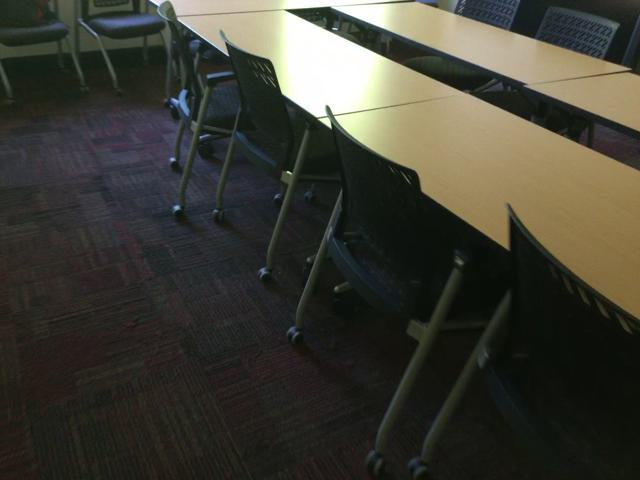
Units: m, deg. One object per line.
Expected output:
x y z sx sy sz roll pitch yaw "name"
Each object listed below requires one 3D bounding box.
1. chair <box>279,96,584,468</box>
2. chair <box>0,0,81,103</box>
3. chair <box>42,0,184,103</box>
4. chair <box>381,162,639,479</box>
0.230 0.080 1.640 0.460 0.750 0.620 -14 36 -25 "chair"
-1.910 -1.380 3.460 0.570 0.910 0.560 -26 43 -38 "chair"
-1.350 -1.470 3.760 0.560 0.900 0.640 29 41 34 "chair"
0.550 0.350 1.190 0.490 0.750 0.650 -14 36 -25 "chair"
